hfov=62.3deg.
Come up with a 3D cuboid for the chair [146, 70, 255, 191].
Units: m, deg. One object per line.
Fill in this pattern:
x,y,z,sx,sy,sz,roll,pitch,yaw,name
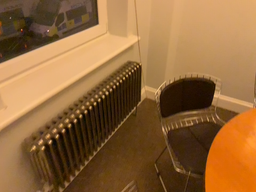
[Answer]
0.450,0.310,1.390,0.460,0.730,0.590,-7,35,-12,chair
